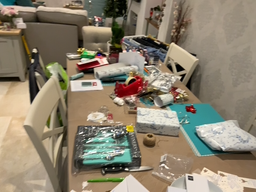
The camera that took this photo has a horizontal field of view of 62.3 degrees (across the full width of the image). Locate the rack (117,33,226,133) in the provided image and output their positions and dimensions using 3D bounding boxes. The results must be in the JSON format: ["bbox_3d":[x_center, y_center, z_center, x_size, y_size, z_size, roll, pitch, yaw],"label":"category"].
[{"bbox_3d":[0.440,-0.250,2.680,0.610,0.750,1.140,-14,36,-32],"label":"rack"}]

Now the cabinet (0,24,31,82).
[{"bbox_3d":[-1.750,-0.580,2.870,0.660,0.700,0.370,-1,31,-13],"label":"cabinet"}]
